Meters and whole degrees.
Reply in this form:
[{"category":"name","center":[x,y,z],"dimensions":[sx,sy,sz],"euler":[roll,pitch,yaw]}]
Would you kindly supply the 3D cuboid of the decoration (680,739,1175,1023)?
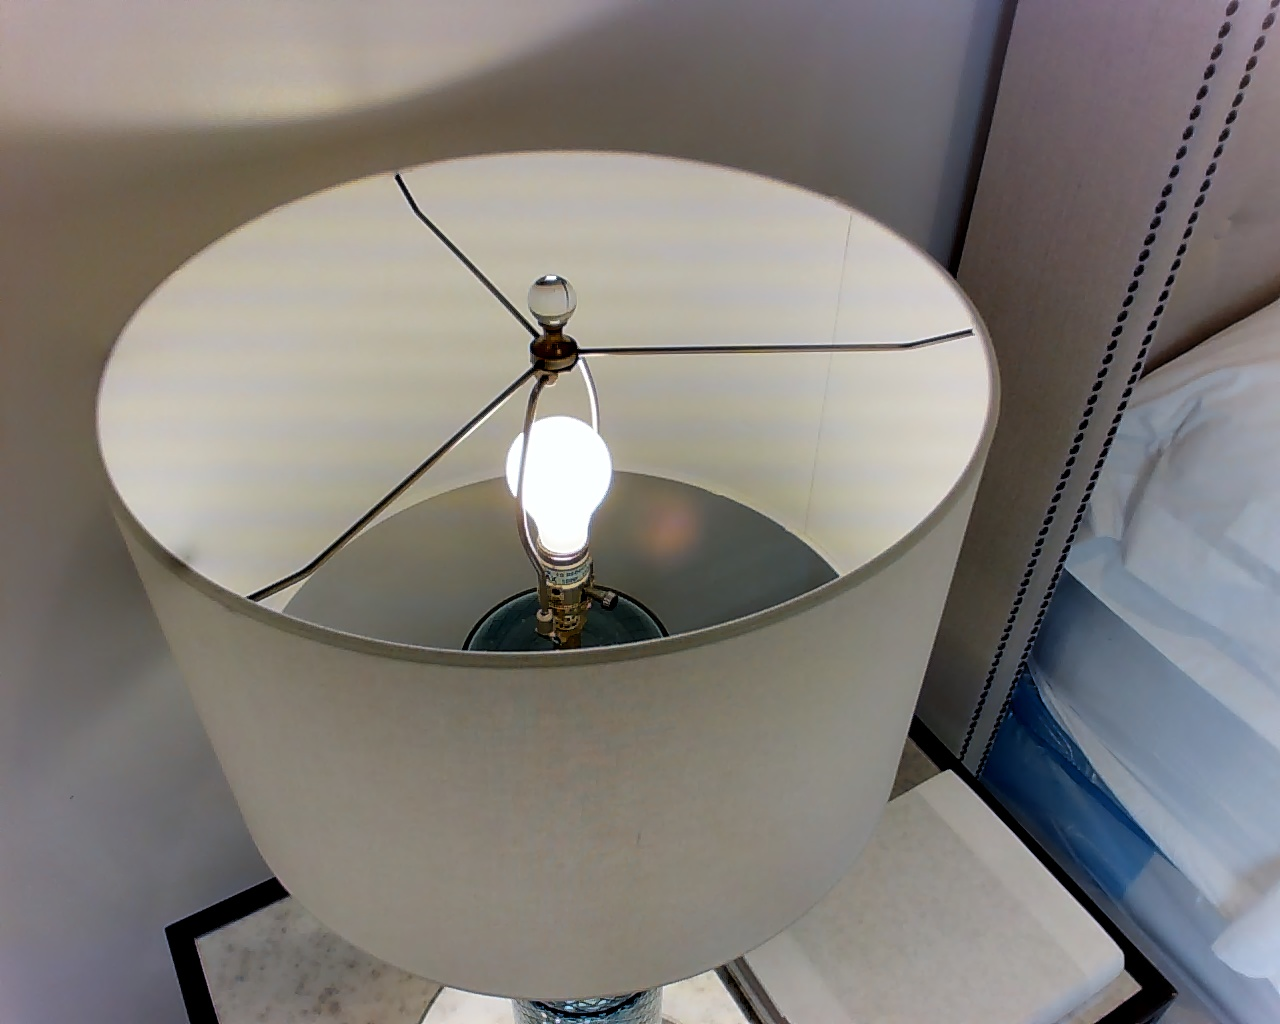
[{"category":"decoration","center":[0.250,0.410,0.990],"dimensions":[0.330,0.120,0.270],"euler":[-22,46,-23]}]
